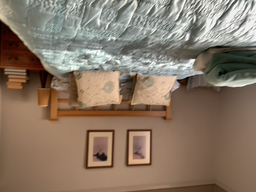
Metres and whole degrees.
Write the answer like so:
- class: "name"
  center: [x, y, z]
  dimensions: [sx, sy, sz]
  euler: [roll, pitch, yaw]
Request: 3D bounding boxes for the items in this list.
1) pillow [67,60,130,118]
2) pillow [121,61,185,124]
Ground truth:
- class: "pillow"
  center: [-0.280, -0.060, 1.980]
  dimensions: [0.450, 0.390, 0.170]
  euler: [-22, 179, -17]
- class: "pillow"
  center: [0.260, -0.040, 2.200]
  dimensions: [0.460, 0.450, 0.160]
  euler: [-37, 179, -18]
